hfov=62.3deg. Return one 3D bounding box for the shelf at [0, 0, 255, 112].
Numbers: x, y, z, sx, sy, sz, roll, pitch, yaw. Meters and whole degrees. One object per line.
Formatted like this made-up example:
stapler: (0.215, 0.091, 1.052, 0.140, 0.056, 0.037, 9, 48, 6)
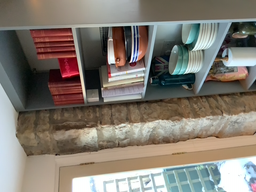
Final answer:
shelf: (0.300, -0.330, 1.480, 0.700, 2.180, 0.380, 98, 165, -52)
